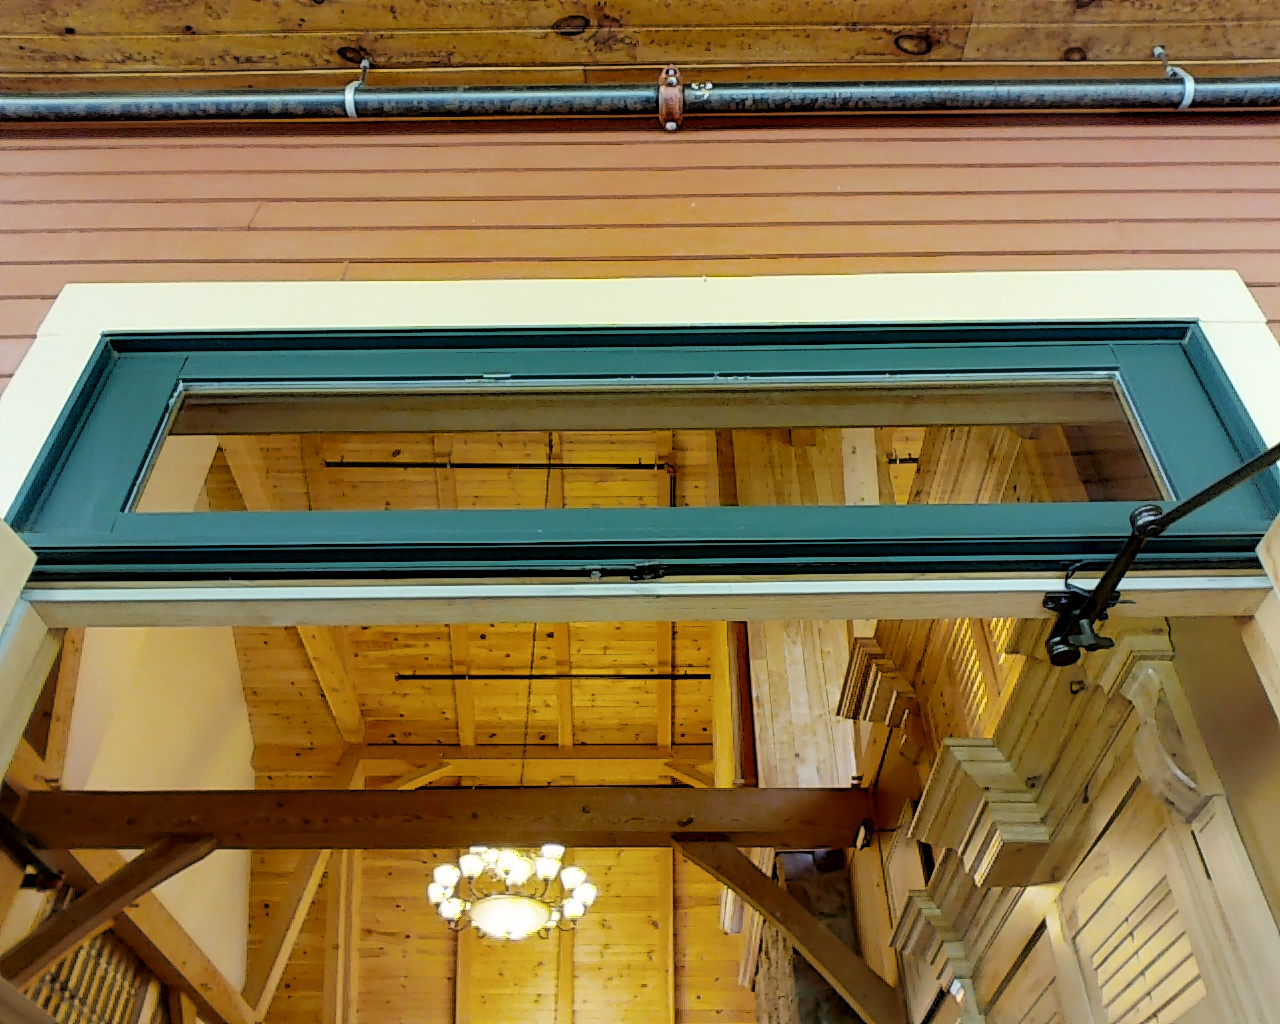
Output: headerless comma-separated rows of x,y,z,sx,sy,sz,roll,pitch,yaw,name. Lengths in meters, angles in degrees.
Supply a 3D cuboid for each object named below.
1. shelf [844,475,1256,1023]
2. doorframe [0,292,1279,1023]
0.999,1.031,3.200,0.360,0.740,2.501,0,-42,1,shelf
-0.010,0.820,0.840,1.839,2.971,0.240,0,-42,1,doorframe
